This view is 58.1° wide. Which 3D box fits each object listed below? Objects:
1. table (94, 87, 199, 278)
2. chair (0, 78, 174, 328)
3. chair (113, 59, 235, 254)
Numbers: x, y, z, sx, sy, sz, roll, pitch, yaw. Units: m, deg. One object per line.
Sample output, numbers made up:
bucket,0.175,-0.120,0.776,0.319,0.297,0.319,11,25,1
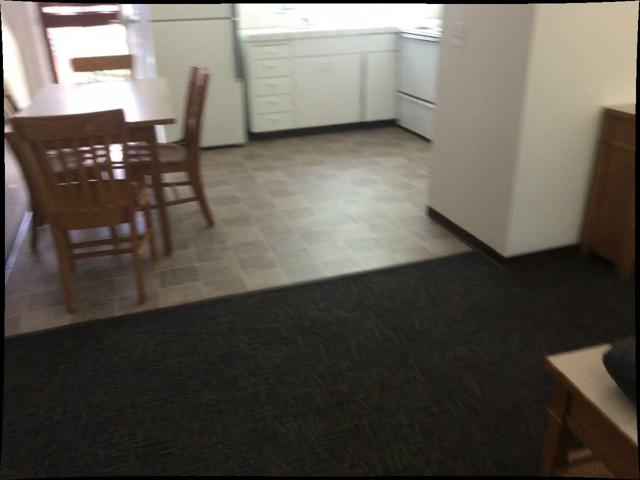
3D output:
table,-0.928,-0.341,3.060,0.359,0.761,0.770,-10,28,-16
chair,-1.048,-0.210,2.670,0.529,0.891,0.710,-10,28,-16
chair,-0.809,-0.481,3.200,0.479,0.901,0.540,-10,28,-16
